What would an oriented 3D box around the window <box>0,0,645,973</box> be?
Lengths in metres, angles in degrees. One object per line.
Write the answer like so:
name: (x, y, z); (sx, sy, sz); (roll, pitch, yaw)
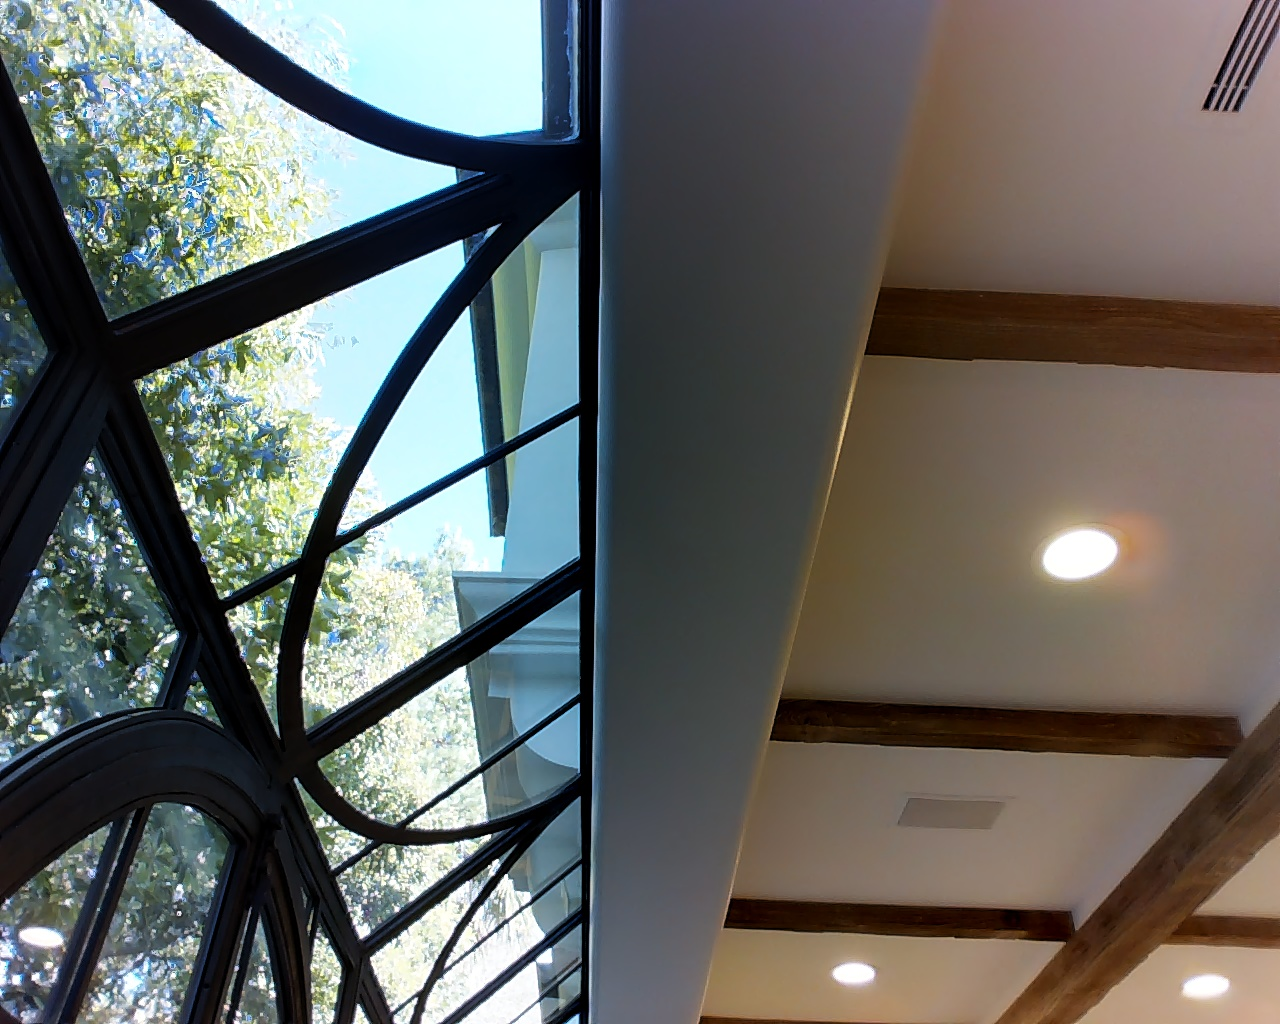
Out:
window: (-0.290, -0.020, 1.540); (0.600, 2.591, 0.110); (-28, 55, -25)
